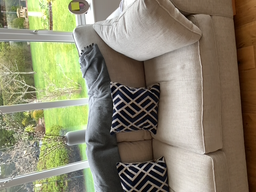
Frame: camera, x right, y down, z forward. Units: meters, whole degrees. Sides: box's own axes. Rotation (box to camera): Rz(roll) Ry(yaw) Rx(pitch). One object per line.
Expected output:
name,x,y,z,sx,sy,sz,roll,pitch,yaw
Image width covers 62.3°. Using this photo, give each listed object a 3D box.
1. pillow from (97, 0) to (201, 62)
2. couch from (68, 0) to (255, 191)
pillow,0.090,-0.440,1.430,0.680,0.350,0.290,-5,92,62
couch,0.220,0.360,1.670,1.140,0.900,2.230,-4,92,62
